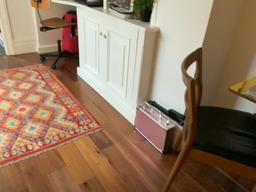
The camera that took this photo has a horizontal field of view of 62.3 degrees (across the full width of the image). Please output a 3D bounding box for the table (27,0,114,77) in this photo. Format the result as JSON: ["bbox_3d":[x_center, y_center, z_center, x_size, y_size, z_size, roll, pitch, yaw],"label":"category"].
[{"bbox_3d":[-0.790,-0.900,2.840,0.720,0.830,1.030,-16,37,-32],"label":"table"}]

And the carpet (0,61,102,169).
[{"bbox_3d":[-1.030,0.020,2.070,0.890,0.060,1.570,-16,37,-32],"label":"carpet"}]
